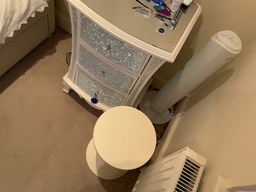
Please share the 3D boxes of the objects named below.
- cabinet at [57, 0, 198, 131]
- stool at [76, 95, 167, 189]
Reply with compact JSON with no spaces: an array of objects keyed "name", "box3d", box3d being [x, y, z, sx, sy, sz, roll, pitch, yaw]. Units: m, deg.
[{"name":"cabinet","box3d":[-0.060,-0.220,1.240,0.460,0.740,0.470,33,60,1]},{"name":"stool","box3d":[-0.060,0.280,1.160,0.300,0.450,0.300,29,60,-1]}]
